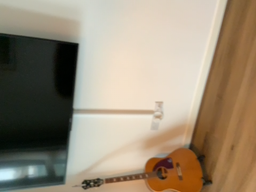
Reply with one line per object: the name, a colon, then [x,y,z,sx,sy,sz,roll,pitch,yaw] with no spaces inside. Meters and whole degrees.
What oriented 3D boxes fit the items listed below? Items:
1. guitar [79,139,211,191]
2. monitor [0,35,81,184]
guitar: [0.140,0.710,1.970,0.300,1.120,0.460,113,160,-54]
monitor: [-0.720,0.140,1.490,0.060,0.660,1.060,-136,53,-64]
